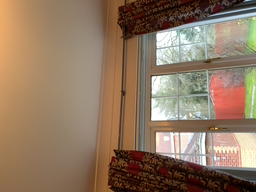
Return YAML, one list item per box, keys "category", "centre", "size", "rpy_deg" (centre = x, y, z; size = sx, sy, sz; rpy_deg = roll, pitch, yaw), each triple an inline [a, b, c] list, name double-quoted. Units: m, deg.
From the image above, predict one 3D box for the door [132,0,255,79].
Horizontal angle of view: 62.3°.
- category: "door"
  centre: [0.730, -0.560, 2.220]
  size: [0.220, 1.350, 0.610]
  rpy_deg: [37, -127, -64]

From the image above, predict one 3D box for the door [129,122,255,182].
- category: "door"
  centre: [0.700, 0.480, 1.890]
  size: [0.160, 1.390, 0.460]
  rpy_deg: [39, -129, -63]

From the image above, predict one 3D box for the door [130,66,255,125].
- category: "door"
  centre: [0.690, 0.020, 2.050]
  size: [0.160, 1.340, 0.500]
  rpy_deg: [37, -127, -64]
